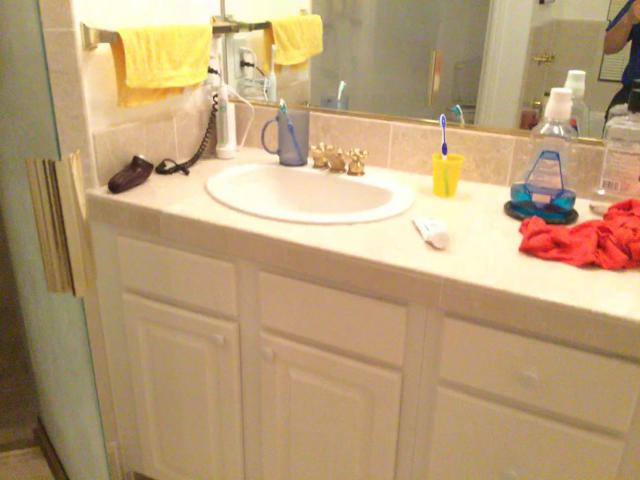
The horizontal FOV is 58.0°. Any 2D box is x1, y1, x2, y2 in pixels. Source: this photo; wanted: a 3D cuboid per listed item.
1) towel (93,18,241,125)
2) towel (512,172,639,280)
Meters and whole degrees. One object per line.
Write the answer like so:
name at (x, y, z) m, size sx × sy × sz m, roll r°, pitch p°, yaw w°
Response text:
towel at (-0.350, -0.410, 1.400) m, size 0.100 × 0.210 × 0.400 m, roll 13°, pitch 21°, yaw 24°
towel at (0.570, -0.030, 1.100) m, size 0.330 × 0.100 × 0.310 m, roll 13°, pitch 21°, yaw 24°
